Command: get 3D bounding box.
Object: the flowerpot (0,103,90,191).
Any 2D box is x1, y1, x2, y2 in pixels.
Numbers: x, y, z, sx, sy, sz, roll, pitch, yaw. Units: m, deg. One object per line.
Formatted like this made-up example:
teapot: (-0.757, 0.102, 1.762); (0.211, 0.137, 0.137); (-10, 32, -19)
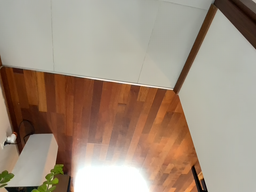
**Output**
flowerpot: (-0.710, 0.820, 1.790); (0.640, 0.920, 1.150); (5, 132, -7)
